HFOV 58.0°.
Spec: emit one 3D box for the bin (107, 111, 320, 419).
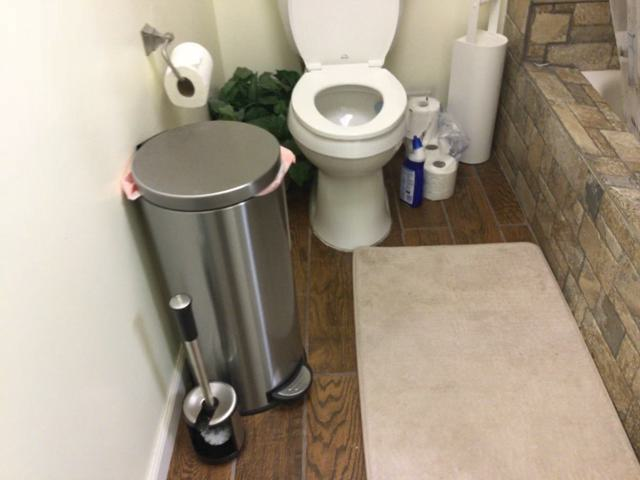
[{"bbox_3d":[-0.190,0.080,1.340,0.320,0.650,0.310,-4,37,4],"label":"bin"}]
